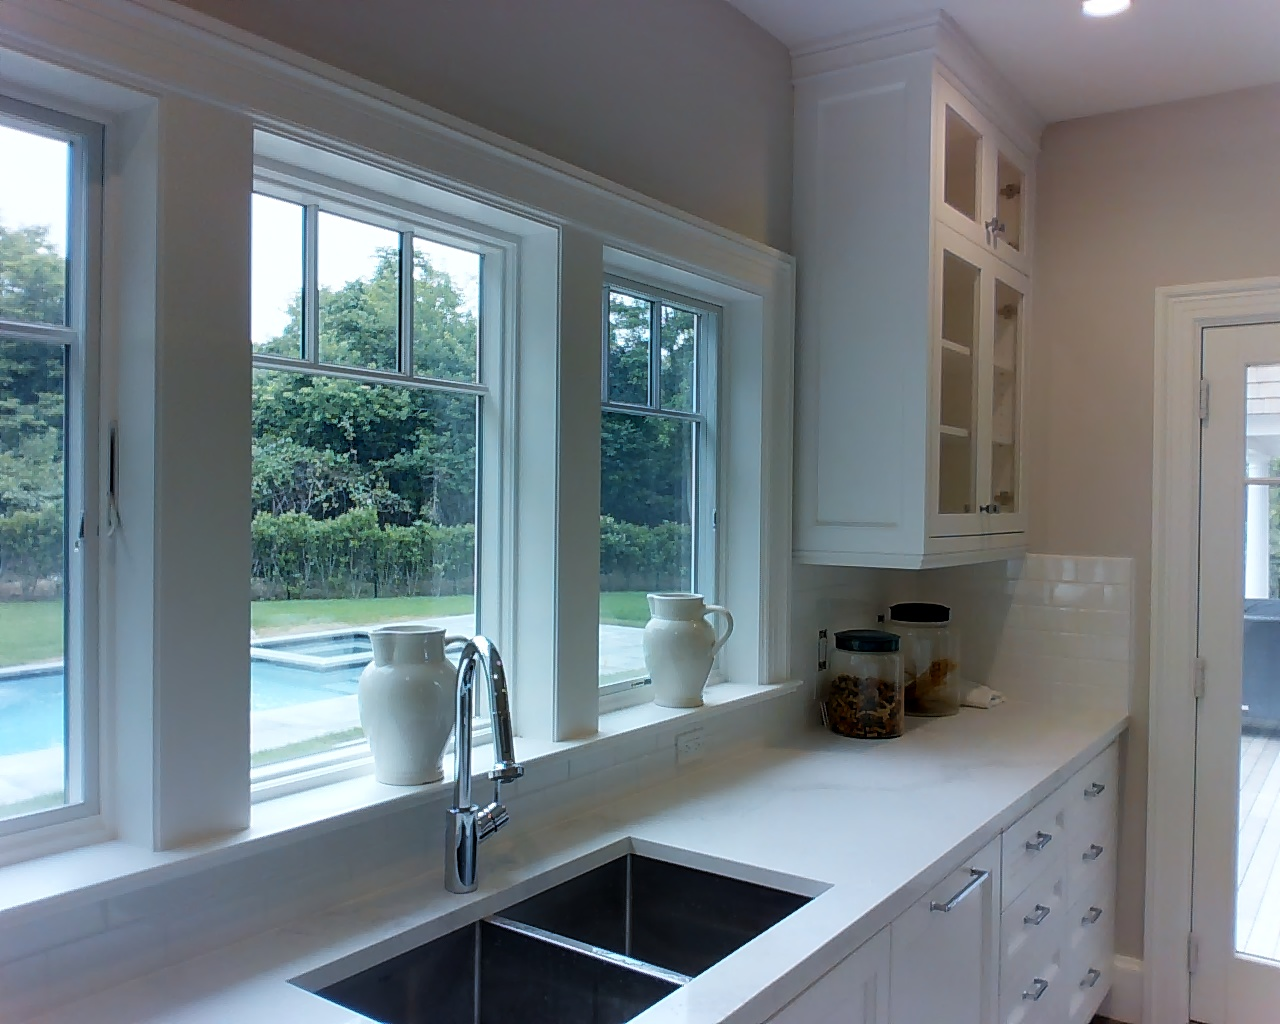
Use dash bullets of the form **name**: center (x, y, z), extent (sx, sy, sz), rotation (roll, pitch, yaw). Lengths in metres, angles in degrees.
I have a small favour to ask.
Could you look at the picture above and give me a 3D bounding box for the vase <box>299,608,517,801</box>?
- **vase**: center (-0.390, 0.310, 1.820), extent (0.240, 0.260, 0.270), rotation (1, 1, 40)
